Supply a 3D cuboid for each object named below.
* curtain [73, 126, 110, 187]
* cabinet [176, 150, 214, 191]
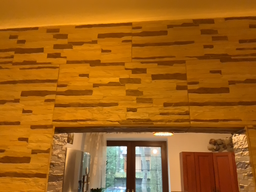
[{"bbox_3d":[-0.670,1.120,3.960,0.510,1.030,0.350,-8,-20,25],"label":"curtain"},{"bbox_3d":[1.140,1.320,3.670,0.520,0.720,0.350,0,-18,3],"label":"cabinet"}]
